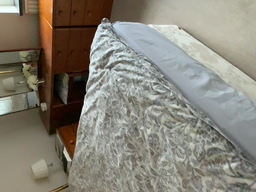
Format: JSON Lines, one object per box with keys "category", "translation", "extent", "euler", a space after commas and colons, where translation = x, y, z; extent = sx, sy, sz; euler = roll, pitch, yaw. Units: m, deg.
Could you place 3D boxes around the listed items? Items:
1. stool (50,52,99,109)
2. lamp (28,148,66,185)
{"category": "stool", "translation": [-0.740, -0.220, 2.860], "extent": [0.440, 0.470, 0.540], "euler": [49, 137, 33]}
{"category": "lamp", "translation": [-0.990, 0.850, 2.590], "extent": [0.230, 0.370, 0.220], "euler": [48, 137, 34]}
